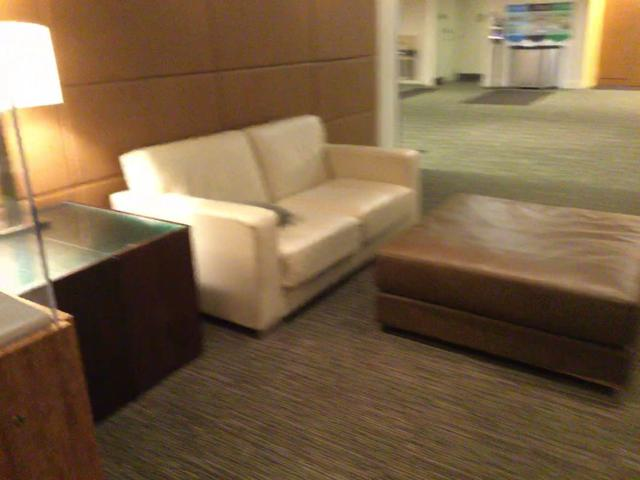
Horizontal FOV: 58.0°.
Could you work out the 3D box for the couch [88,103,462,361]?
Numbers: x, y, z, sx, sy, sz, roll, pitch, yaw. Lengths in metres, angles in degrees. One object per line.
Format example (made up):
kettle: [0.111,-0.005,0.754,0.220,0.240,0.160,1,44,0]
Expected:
couch: [-0.110,-0.230,3.190,1.130,0.780,1.720,11,25,36]
